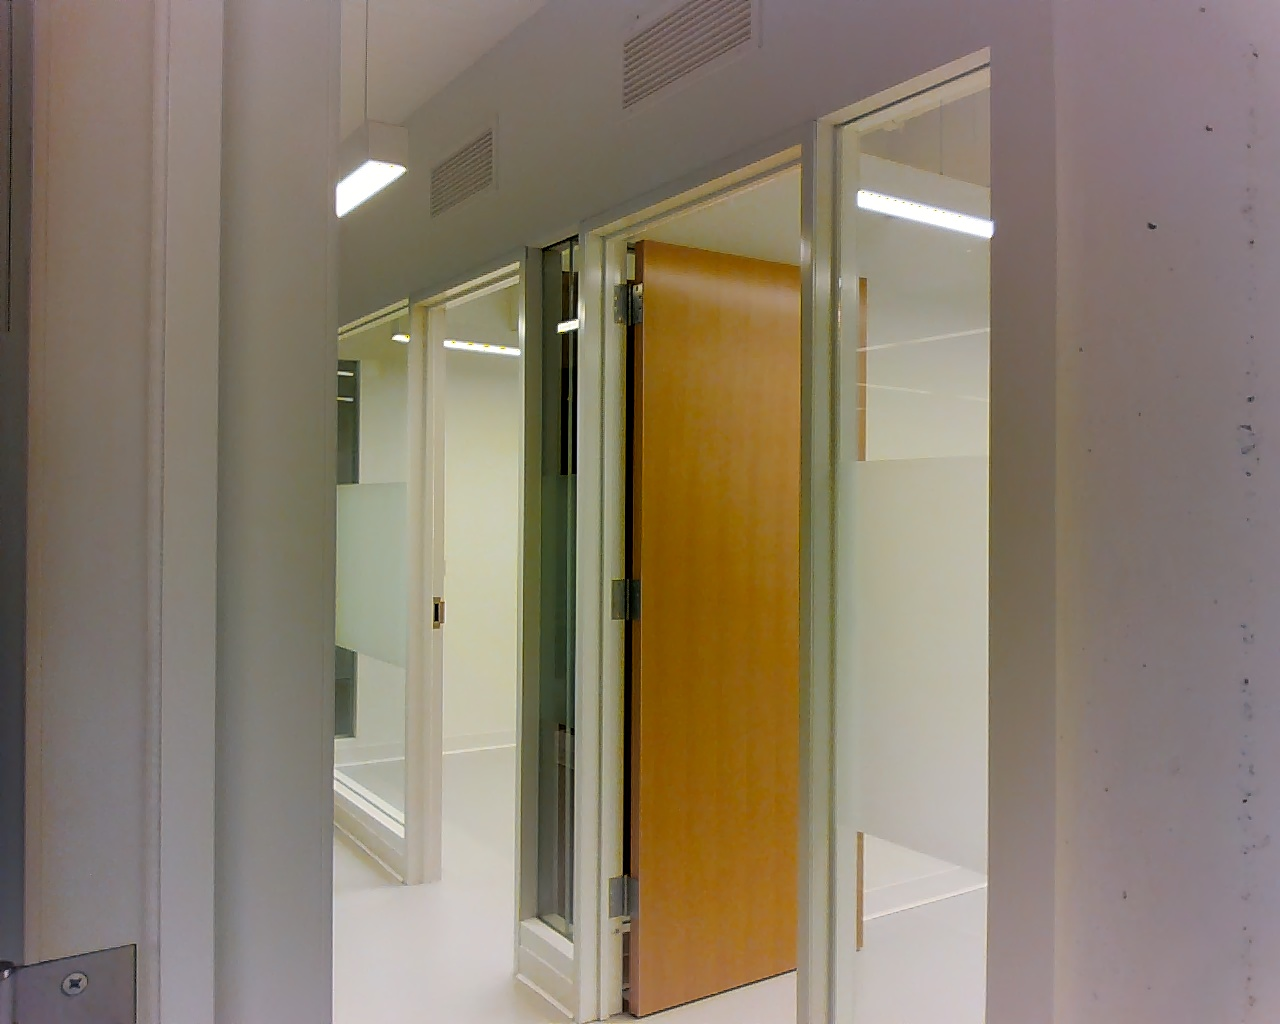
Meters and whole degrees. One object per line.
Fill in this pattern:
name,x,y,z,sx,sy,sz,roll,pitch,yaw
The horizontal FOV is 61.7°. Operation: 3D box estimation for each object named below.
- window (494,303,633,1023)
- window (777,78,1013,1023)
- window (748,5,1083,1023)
window,-0.240,0.430,3.210,0.150,2.010,0.530,1,0,-34
window,0.480,0.220,2.090,0.130,1.950,0.470,1,0,-34
window,0.490,0.310,2.050,0.160,2.261,0.670,1,0,-34
